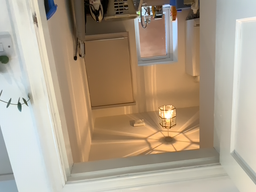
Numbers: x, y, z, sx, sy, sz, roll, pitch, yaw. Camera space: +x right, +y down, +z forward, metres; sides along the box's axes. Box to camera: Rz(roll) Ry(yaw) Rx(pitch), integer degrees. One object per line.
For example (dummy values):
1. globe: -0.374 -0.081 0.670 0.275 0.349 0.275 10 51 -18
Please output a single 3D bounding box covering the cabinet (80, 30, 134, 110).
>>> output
1. cabinet: -0.270 -0.370 2.960 0.610 1.000 0.360 -6 -164 -3
